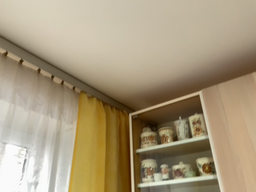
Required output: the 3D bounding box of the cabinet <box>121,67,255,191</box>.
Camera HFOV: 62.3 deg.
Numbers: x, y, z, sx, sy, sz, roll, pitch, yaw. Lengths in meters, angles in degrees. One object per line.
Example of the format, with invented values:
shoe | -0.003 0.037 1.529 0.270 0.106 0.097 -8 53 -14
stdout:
cabinet | 0.470 0.330 1.100 1.030 0.750 0.290 -20 -33 30
